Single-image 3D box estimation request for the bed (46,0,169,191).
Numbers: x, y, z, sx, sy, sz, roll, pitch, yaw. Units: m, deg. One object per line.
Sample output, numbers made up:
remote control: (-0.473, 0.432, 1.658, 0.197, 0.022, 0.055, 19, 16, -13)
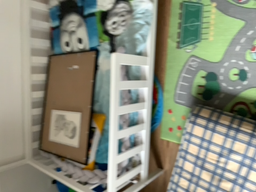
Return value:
bed: (-0.190, -0.280, 1.540, 0.850, 0.350, 1.680, 8, 99, 36)
